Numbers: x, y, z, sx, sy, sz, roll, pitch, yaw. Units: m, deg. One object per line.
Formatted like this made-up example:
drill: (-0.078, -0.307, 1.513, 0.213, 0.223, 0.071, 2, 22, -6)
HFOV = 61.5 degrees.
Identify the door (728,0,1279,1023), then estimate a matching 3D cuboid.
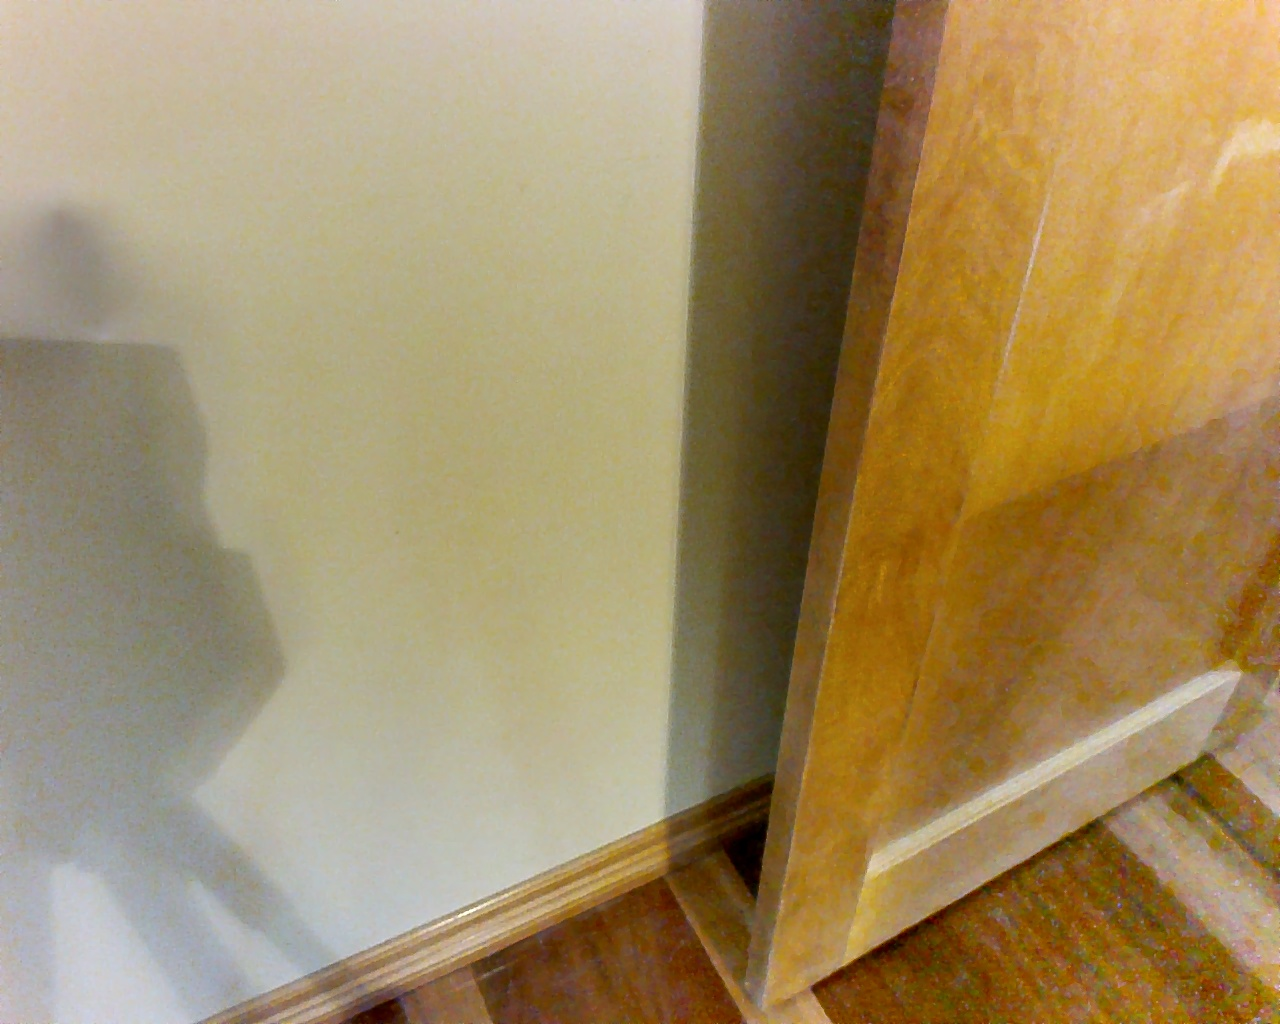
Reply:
door: (0.440, -0.450, 0.530, 0.720, 2.390, 0.040, -19, 45, -22)
